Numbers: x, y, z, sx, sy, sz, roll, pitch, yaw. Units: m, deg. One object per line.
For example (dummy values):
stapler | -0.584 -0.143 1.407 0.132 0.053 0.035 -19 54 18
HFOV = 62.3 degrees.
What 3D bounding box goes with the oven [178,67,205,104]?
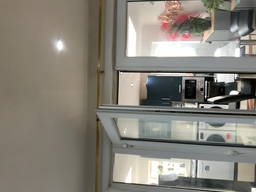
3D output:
oven | 1.580 -0.260 5.280 0.340 0.590 0.860 52 -140 -77
